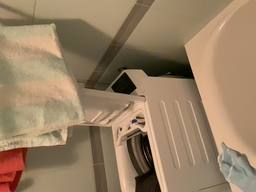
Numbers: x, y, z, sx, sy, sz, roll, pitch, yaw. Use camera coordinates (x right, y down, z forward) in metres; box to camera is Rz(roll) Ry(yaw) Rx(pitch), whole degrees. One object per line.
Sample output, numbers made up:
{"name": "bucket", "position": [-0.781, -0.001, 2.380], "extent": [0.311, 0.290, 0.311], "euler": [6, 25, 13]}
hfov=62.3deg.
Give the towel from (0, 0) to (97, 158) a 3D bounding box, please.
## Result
{"name": "towel", "position": [-0.360, -0.060, 0.730], "extent": [0.260, 0.380, 0.490], "euler": [-37, 58, 55]}
